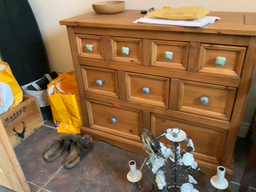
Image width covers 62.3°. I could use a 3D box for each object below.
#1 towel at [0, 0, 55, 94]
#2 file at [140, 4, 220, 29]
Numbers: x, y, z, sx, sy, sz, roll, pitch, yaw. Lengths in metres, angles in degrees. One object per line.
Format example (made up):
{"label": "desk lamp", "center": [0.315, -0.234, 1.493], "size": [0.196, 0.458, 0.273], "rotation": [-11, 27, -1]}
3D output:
{"label": "towel", "center": [-0.860, -0.440, 1.760], "size": [0.120, 0.760, 0.350], "rotation": [16, 34, 29]}
{"label": "file", "center": [0.260, -0.400, 1.040], "size": [0.310, 0.060, 0.280], "rotation": [14, 33, 26]}
